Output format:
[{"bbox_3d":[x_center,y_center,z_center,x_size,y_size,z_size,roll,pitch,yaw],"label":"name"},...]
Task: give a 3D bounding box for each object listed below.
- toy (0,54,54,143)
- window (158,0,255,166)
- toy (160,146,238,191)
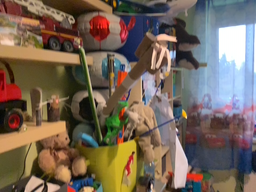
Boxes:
[{"bbox_3d":[-0.510,0.010,0.690,0.170,0.290,0.520,1,5,27],"label":"toy"},{"bbox_3d":[1.210,-0.220,2.030,1.830,1.730,0.260,1,5,28],"label":"window"},{"bbox_3d":[0.700,0.940,1.950,0.520,0.640,0.920,1,5,28],"label":"toy"}]
